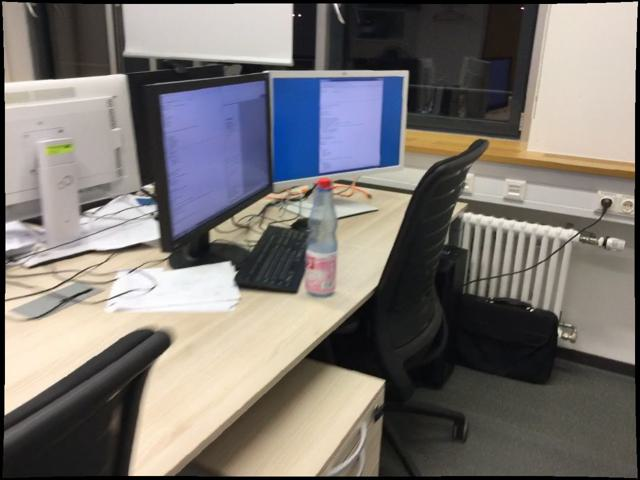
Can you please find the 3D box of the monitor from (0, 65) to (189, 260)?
[{"bbox_3d":[-0.769,-0.260,1.730,0.190,0.460,0.830,15,24,30],"label":"monitor"}]

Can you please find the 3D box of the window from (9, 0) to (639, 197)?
[{"bbox_3d":[0.050,-1.081,2.680,3.957,1.311,0.290,11,22,23],"label":"window"}]

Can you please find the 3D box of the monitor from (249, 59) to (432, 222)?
[{"bbox_3d":[0.090,-0.390,2.110,0.730,0.500,0.160,-15,27,-39],"label":"monitor"}]
